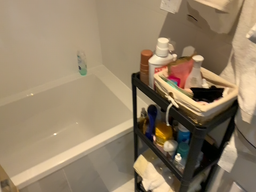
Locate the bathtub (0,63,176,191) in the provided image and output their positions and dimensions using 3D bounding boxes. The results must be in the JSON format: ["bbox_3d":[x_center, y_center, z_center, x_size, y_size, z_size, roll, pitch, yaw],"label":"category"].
[{"bbox_3d":[-0.520,0.400,1.390,1.390,0.570,0.780,-21,44,-23],"label":"bathtub"}]
